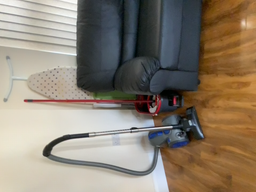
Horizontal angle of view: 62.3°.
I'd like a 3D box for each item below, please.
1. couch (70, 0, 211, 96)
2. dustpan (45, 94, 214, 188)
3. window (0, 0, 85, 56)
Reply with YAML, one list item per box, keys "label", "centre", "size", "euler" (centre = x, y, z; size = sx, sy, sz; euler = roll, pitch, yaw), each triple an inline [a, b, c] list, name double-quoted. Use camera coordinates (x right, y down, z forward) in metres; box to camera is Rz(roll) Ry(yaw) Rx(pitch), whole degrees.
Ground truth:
- label: "couch"
  centre: [0.070, -1.000, 1.950]
  size: [0.950, 0.910, 1.940]
  euler: [4, 91, 63]
- label: "dustpan"
  centre: [-0.030, 0.380, 1.780]
  size: [0.690, 1.180, 0.480]
  euler: [-48, 46, 51]
- label: "window"
  centre: [-1.020, -0.890, 2.000]
  size: [0.030, 1.230, 0.860]
  euler: [0, 88, 63]
